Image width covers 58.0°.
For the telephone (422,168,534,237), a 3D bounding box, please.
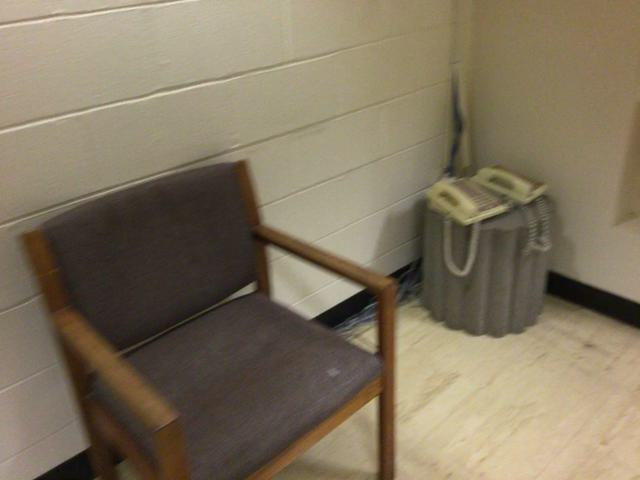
[{"bbox_3d":[0.550,-0.140,2.020,0.280,0.110,0.260,-25,30,-35],"label":"telephone"}]
